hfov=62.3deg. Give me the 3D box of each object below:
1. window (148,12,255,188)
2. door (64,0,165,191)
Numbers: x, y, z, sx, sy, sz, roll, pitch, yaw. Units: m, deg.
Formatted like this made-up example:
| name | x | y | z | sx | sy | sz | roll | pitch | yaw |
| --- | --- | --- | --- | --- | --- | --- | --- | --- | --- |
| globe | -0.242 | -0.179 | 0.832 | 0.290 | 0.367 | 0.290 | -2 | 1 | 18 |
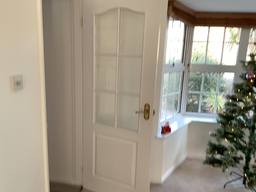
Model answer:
| name | x | y | z | sx | sy | sz | roll | pitch | yaw |
| --- | --- | --- | --- | --- | --- | --- | --- | --- | --- |
| window | 1.570 | 0.060 | 2.790 | 2.440 | 2.010 | 0.800 | 4 | 12 | 7 |
| door | -0.210 | 0.150 | 2.080 | 0.990 | 2.110 | 0.070 | 9 | 14 | 26 |
